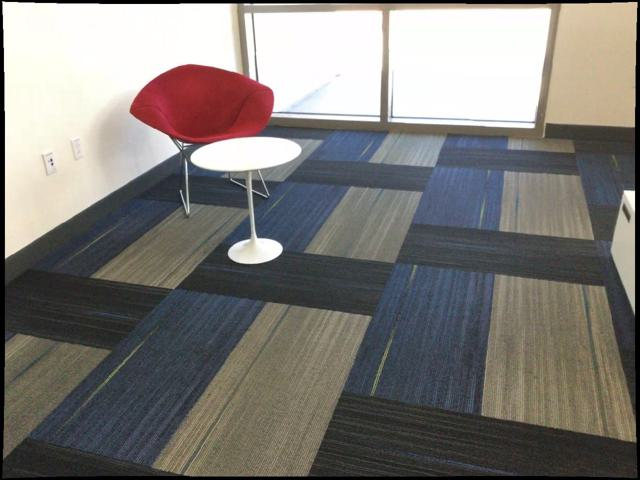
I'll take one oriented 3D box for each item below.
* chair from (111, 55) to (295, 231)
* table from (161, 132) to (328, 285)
[{"bbox_3d":[-0.708,-0.632,3.480,0.779,0.721,0.820,-17,30,-23],"label":"chair"},{"bbox_3d":[-0.329,-0.180,2.800,0.559,0.521,0.550,5,29,18],"label":"table"}]
